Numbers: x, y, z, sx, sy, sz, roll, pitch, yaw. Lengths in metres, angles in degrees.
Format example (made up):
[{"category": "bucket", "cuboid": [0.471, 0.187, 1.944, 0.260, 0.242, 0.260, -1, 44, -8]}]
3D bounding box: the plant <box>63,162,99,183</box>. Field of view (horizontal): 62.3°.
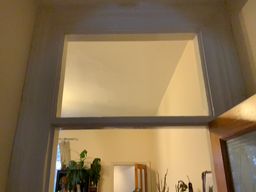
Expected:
[{"category": "plant", "cuboid": [-0.980, 1.650, 4.590, 0.620, 0.410, 0.680, 0, -20, -2]}]
